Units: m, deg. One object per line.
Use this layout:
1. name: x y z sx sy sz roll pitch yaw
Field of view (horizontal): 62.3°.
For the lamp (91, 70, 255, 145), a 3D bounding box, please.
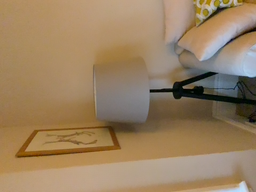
1. lamp: 0.450 0.030 1.790 0.560 1.470 0.450 -141 50 -74
